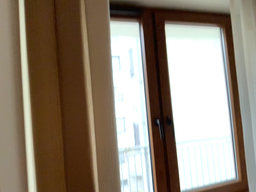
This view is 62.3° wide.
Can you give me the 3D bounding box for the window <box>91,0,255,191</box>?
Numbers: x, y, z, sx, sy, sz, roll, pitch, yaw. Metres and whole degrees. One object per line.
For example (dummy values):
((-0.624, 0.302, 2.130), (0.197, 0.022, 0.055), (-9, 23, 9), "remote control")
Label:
((0.410, 0.070, 1.550), (1.190, 1.550, 0.360), (-4, -3, -22), "window")
